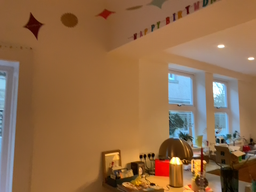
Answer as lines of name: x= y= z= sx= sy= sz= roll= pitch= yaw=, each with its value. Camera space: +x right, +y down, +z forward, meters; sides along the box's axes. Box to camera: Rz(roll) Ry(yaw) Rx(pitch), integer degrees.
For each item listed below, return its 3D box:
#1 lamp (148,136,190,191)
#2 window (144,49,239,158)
lamp: x=0.430 y=0.700 z=2.280 sx=0.250 sy=0.500 sz=0.360 roll=5 pitch=-7 yaw=-39
window: x=1.440 y=0.200 z=4.390 sx=2.600 sy=1.750 sz=0.430 roll=5 pitch=-7 yaw=-38
